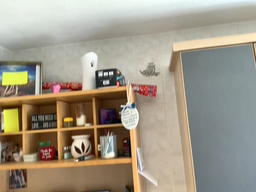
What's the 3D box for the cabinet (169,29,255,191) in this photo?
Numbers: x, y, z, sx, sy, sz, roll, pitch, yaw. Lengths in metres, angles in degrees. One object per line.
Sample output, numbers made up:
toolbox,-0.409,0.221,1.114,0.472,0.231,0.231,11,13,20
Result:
cabinet,0.410,0.170,1.000,0.330,0.820,0.360,-5,-9,7
